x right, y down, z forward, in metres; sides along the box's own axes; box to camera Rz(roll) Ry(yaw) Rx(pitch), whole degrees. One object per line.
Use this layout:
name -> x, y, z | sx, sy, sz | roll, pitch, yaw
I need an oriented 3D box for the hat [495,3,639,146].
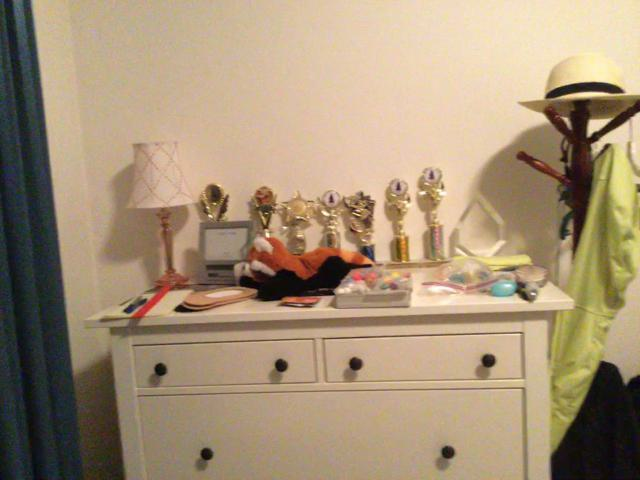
hat -> 0.670, -0.400, 1.420 | 0.370, 0.200, 0.400 | -18, 3, 11
